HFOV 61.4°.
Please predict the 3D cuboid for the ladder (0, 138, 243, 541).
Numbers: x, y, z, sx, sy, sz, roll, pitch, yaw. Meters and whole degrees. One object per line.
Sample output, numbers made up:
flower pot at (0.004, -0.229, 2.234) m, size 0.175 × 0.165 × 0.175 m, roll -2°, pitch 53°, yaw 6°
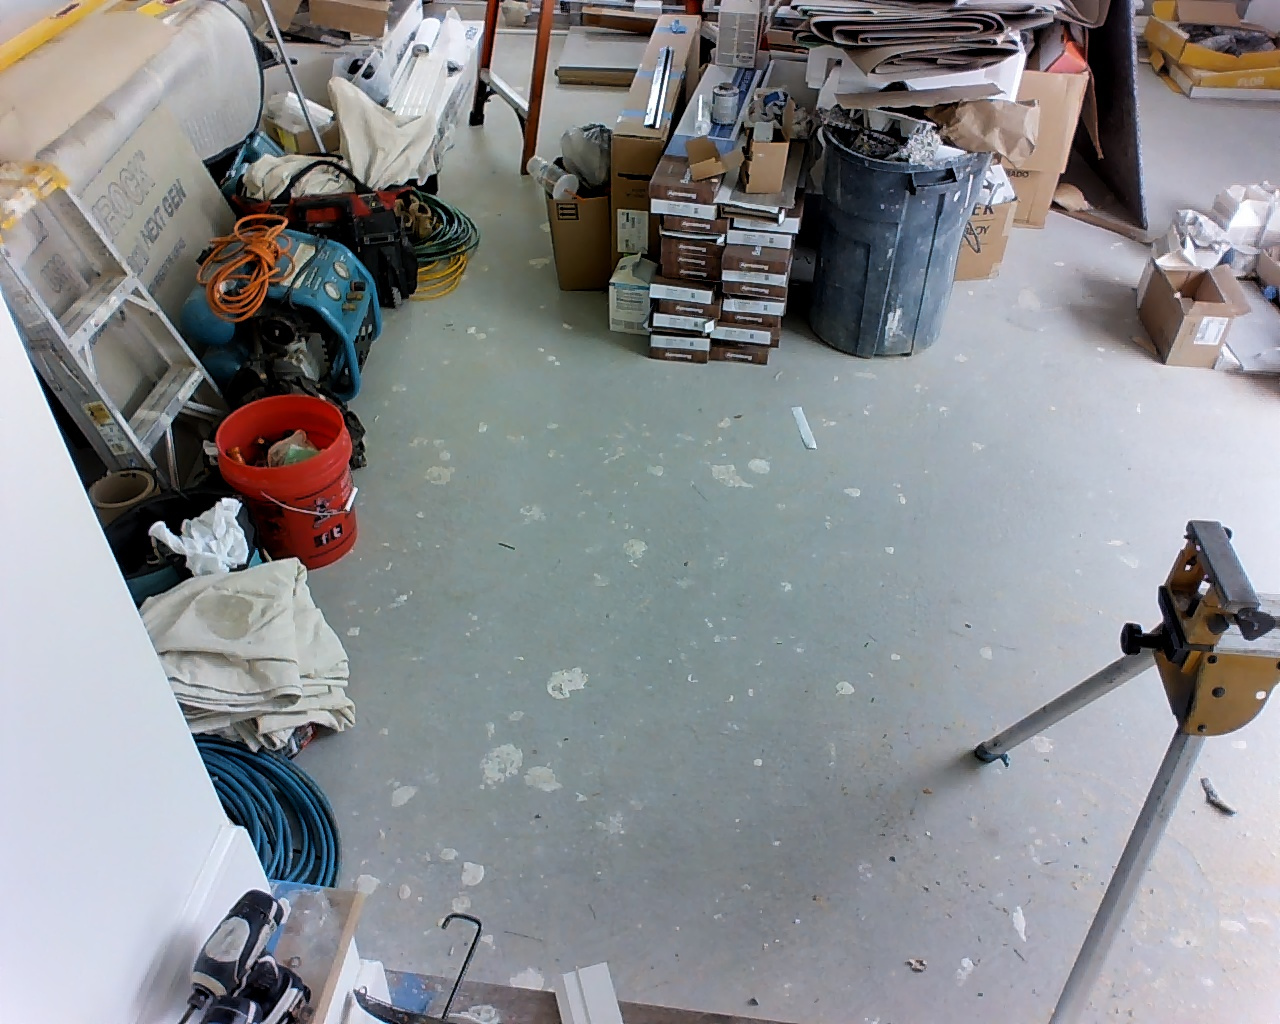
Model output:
ladder at (-1.370, -0.420, 2.760) m, size 0.330 × 0.900 × 0.450 m, roll 5°, pitch 41°, yaw 5°
